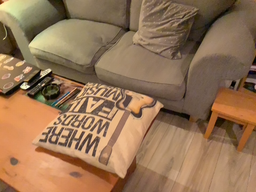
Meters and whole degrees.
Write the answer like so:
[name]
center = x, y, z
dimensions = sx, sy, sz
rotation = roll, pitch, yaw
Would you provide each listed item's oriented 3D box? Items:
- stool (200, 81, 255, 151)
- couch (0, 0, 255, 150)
[stool]
center = 0.690, 0.130, 1.440
dimensions = 0.270, 0.310, 0.260
rotation = 19, 46, 22
[couch]
center = -0.060, -0.580, 1.870
dimensions = 2.050, 0.900, 1.040
rotation = 19, 46, 22
